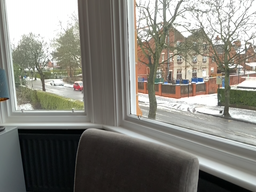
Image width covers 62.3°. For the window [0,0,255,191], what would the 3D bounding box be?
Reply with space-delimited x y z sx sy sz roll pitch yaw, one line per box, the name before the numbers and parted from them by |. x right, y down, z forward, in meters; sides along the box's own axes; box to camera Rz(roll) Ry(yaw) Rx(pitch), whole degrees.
window | -0.010 -0.640 0.880 1.200 2.020 3.040 -10 12 -40
